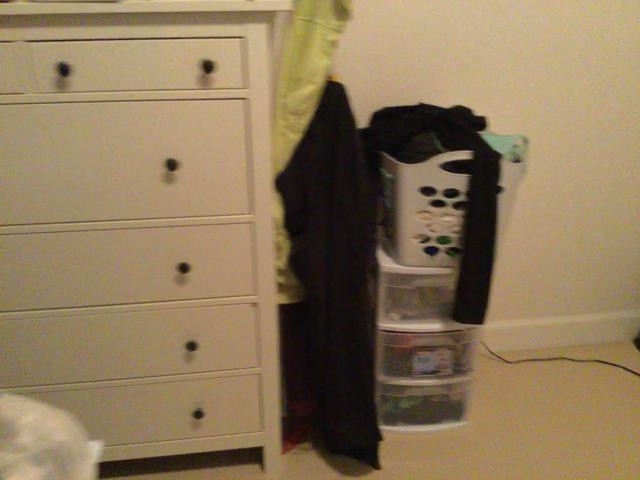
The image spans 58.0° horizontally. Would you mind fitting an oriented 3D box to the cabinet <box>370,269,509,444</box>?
[{"bbox_3d":[0.350,0.360,1.790,0.350,0.500,0.180,-2,24,-5],"label":"cabinet"}]
